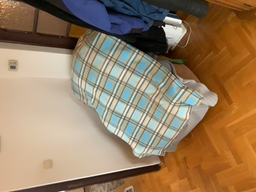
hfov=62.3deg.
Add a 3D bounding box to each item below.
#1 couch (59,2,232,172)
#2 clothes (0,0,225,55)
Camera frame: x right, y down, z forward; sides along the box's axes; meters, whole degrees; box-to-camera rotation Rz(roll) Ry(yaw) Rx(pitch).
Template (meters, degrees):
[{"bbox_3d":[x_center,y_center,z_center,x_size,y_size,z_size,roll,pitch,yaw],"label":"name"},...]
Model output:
[{"bbox_3d":[0.020,-0.070,2.020,0.960,1.020,1.040,-61,41,40],"label":"couch"},{"bbox_3d":[-0.140,-0.560,1.300,0.730,1.210,0.270,47,130,50],"label":"clothes"}]
